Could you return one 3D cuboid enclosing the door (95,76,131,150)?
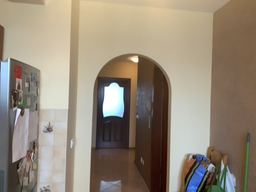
[{"bbox_3d":[-0.440,0.520,6.380,0.980,2.190,0.100,2,0,-9],"label":"door"}]
